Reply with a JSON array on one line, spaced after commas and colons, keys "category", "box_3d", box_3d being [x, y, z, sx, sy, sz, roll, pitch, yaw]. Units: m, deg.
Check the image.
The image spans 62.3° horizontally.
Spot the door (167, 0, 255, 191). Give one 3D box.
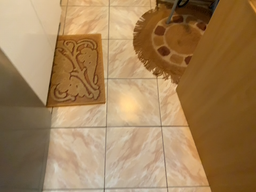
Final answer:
[{"category": "door", "box_3d": [0.450, -0.080, 0.380, 0.040, 2.060, 0.980, -11, 66, -8]}]
